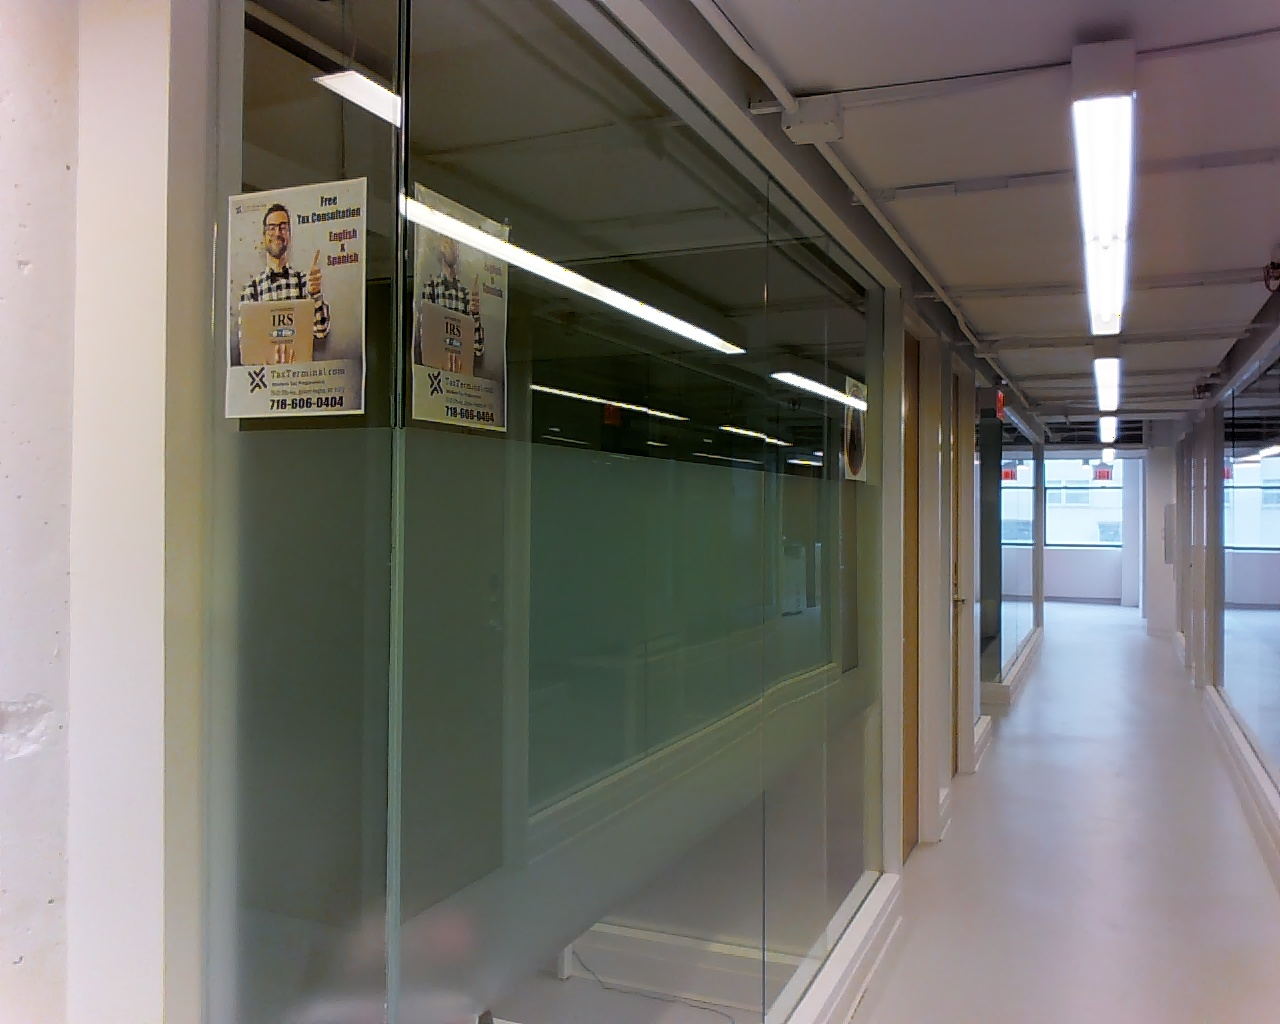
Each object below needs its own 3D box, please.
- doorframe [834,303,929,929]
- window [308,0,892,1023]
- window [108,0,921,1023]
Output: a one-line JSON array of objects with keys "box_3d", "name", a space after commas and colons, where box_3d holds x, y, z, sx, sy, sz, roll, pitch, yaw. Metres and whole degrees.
[{"box_3d": [0.990, 0.370, 4.300, 0.190, 2.220, 1.000, 0, -1, 23], "name": "doorframe"}, {"box_3d": [0.250, 0.330, 2.550, 0.200, 2.190, 2.840, 0, -1, 23], "name": "window"}, {"box_3d": [0.190, 0.330, 2.540, 0.490, 2.261, 3.000, 0, -1, 23], "name": "window"}]
